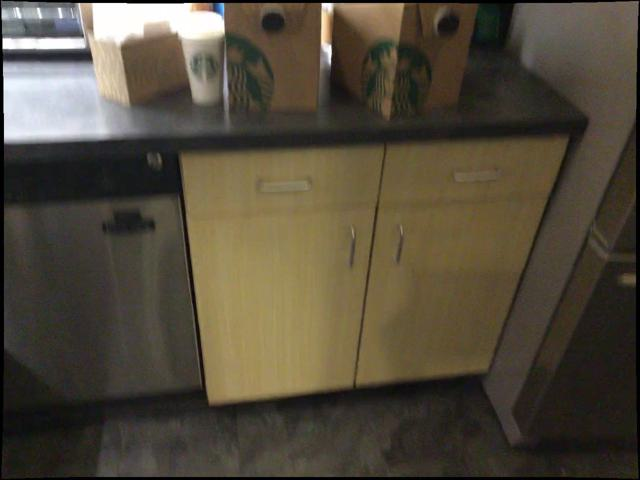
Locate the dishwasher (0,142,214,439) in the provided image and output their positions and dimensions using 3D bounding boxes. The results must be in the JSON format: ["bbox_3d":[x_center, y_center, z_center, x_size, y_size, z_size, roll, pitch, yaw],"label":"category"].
[{"bbox_3d":[-0.619,0.170,1.290,0.678,0.811,0.070,-5,41,-8],"label":"dishwasher"}]
